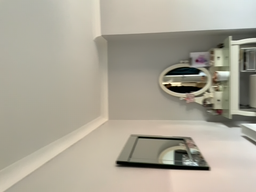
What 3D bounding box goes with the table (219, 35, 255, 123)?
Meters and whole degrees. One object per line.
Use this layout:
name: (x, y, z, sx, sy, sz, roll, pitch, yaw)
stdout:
table: (1.630, -0.210, 2.720, 0.550, 0.720, 1.010, -27, -63, -81)
